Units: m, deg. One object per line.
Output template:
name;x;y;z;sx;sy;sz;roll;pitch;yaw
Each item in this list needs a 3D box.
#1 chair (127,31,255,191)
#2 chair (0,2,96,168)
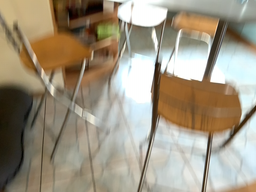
chair;0.250;0.200;1.070;0.400;0.910;0.300;13;40;11
chair;-0.470;-0.030;1.310;0.400;0.910;0.300;27;45;27
